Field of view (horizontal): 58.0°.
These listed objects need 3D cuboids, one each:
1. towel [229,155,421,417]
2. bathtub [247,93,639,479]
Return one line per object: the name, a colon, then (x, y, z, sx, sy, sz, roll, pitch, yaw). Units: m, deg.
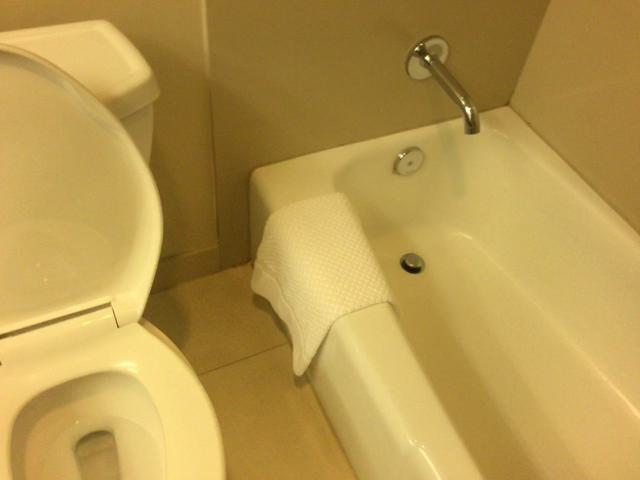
towel: (-0.020, 0.100, 1.300, 0.230, 0.360, 0.410, -17, 54, -21)
bathtub: (0.450, 0.360, 1.110, 0.750, 0.390, 1.440, -15, 53, -19)
